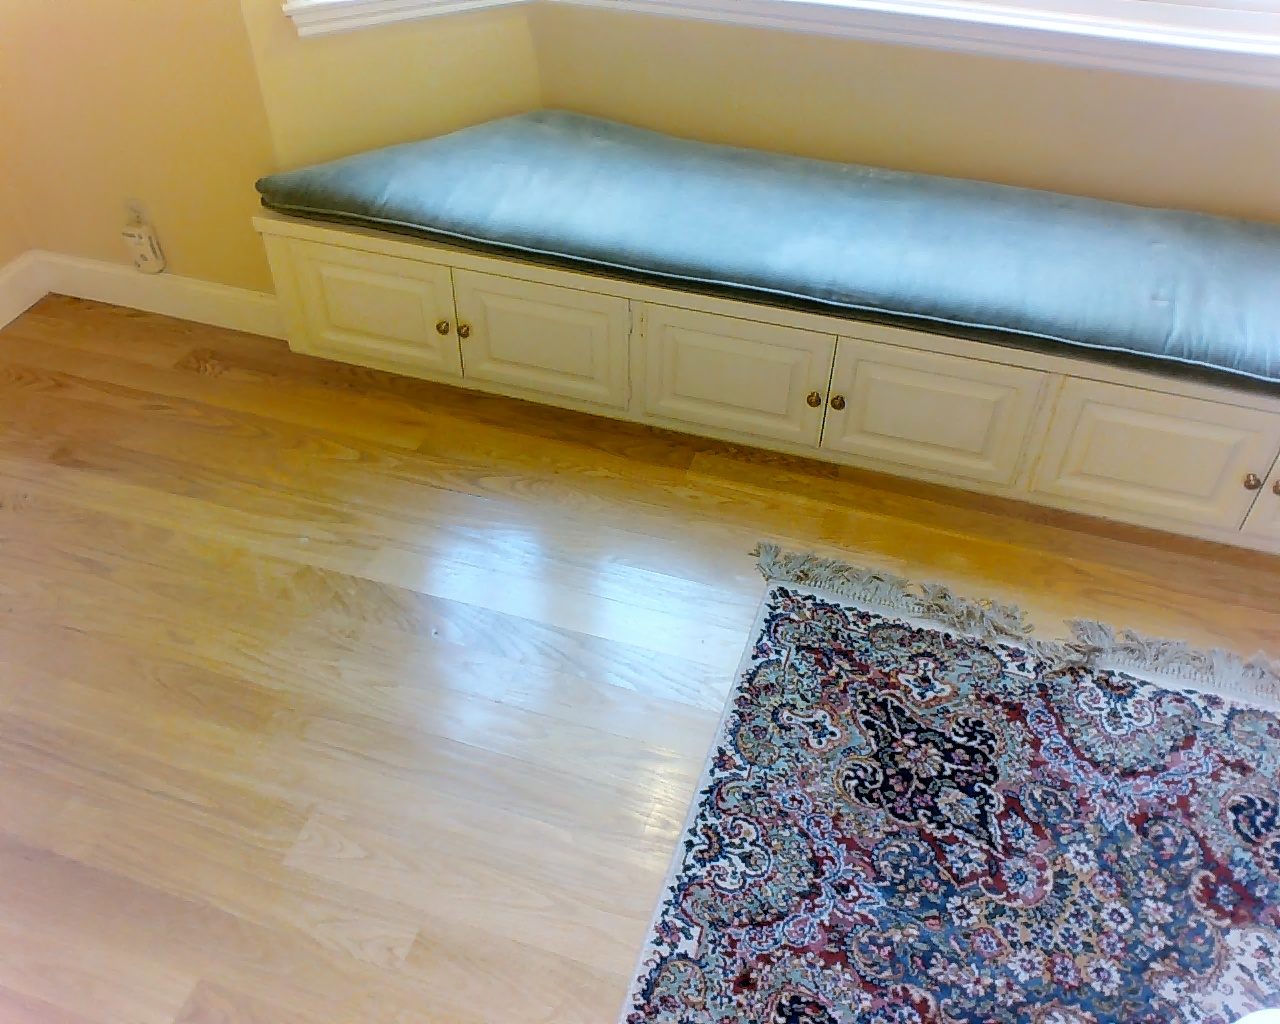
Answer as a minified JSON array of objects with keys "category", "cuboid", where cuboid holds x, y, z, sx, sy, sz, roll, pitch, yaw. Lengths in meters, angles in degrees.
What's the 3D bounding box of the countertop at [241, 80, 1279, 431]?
[{"category":"countertop","cuboid":[0.540,-0.580,2.360,2.810,0.170,0.610,13,44,13]}]
